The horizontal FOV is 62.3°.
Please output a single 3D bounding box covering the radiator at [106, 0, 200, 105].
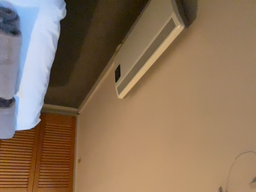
[{"bbox_3d":[0.070,-0.350,1.330,0.140,0.520,0.750,10,147,-25],"label":"radiator"}]
